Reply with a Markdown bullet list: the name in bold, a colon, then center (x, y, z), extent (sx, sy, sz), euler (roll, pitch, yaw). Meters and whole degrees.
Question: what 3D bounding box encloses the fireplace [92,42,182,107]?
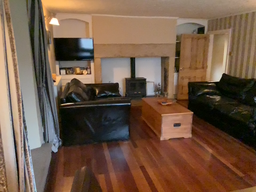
- **fireplace**: center (0.190, -0.650, 5.830), extent (2.240, 1.580, 0.930), euler (-3, 14, -12)
